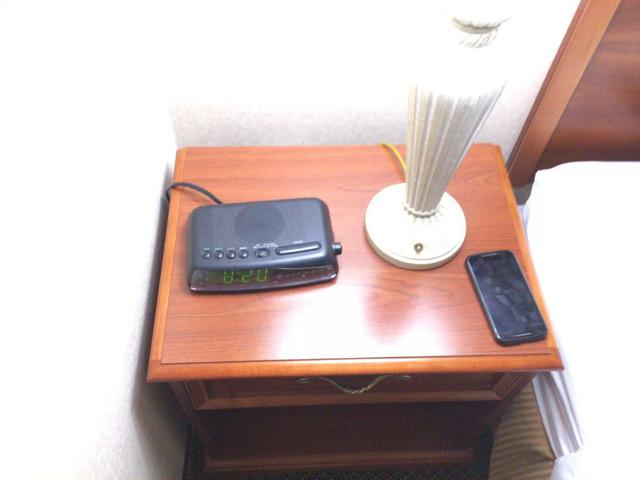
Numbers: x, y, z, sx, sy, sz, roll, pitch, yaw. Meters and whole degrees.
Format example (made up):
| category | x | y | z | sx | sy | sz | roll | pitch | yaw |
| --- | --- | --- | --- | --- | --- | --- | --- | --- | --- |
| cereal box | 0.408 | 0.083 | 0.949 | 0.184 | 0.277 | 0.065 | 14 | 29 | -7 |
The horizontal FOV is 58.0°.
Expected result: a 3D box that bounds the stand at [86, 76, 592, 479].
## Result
| category | x | y | z | sx | sy | sz | roll | pitch | yaw |
| --- | --- | --- | --- | --- | --- | --- | --- | --- | --- |
| stand | 0.020 | 0.130 | 1.100 | 0.600 | 0.670 | 0.490 | -2 | 56 | 0 |
